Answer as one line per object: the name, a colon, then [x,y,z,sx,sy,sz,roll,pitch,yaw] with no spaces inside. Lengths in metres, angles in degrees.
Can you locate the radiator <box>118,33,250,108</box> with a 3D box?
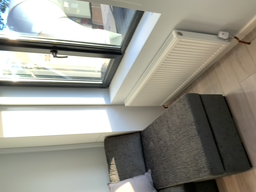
radiator: [0.430,-0.140,2.190,1.360,0.700,0.080,130,137,-60]

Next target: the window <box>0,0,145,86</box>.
window: [-0.700,-0.450,2.000,1.260,1.330,0.120,129,138,-59]
